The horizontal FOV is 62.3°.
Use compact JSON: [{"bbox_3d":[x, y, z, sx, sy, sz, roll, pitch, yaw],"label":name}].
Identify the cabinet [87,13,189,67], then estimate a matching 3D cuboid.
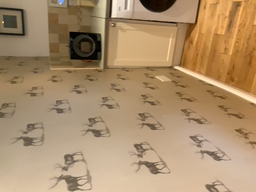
[{"bbox_3d":[0.070,-0.610,2.300,0.600,0.890,0.450,-135,46,-59],"label":"cabinet"}]
